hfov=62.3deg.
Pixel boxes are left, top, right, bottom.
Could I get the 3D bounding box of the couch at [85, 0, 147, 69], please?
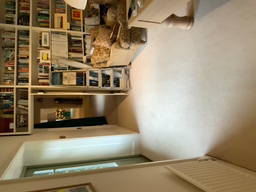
[{"bbox_3d":[-0.300,-1.130,4.020,1.080,0.820,0.820,139,128,-63],"label":"couch"}]
